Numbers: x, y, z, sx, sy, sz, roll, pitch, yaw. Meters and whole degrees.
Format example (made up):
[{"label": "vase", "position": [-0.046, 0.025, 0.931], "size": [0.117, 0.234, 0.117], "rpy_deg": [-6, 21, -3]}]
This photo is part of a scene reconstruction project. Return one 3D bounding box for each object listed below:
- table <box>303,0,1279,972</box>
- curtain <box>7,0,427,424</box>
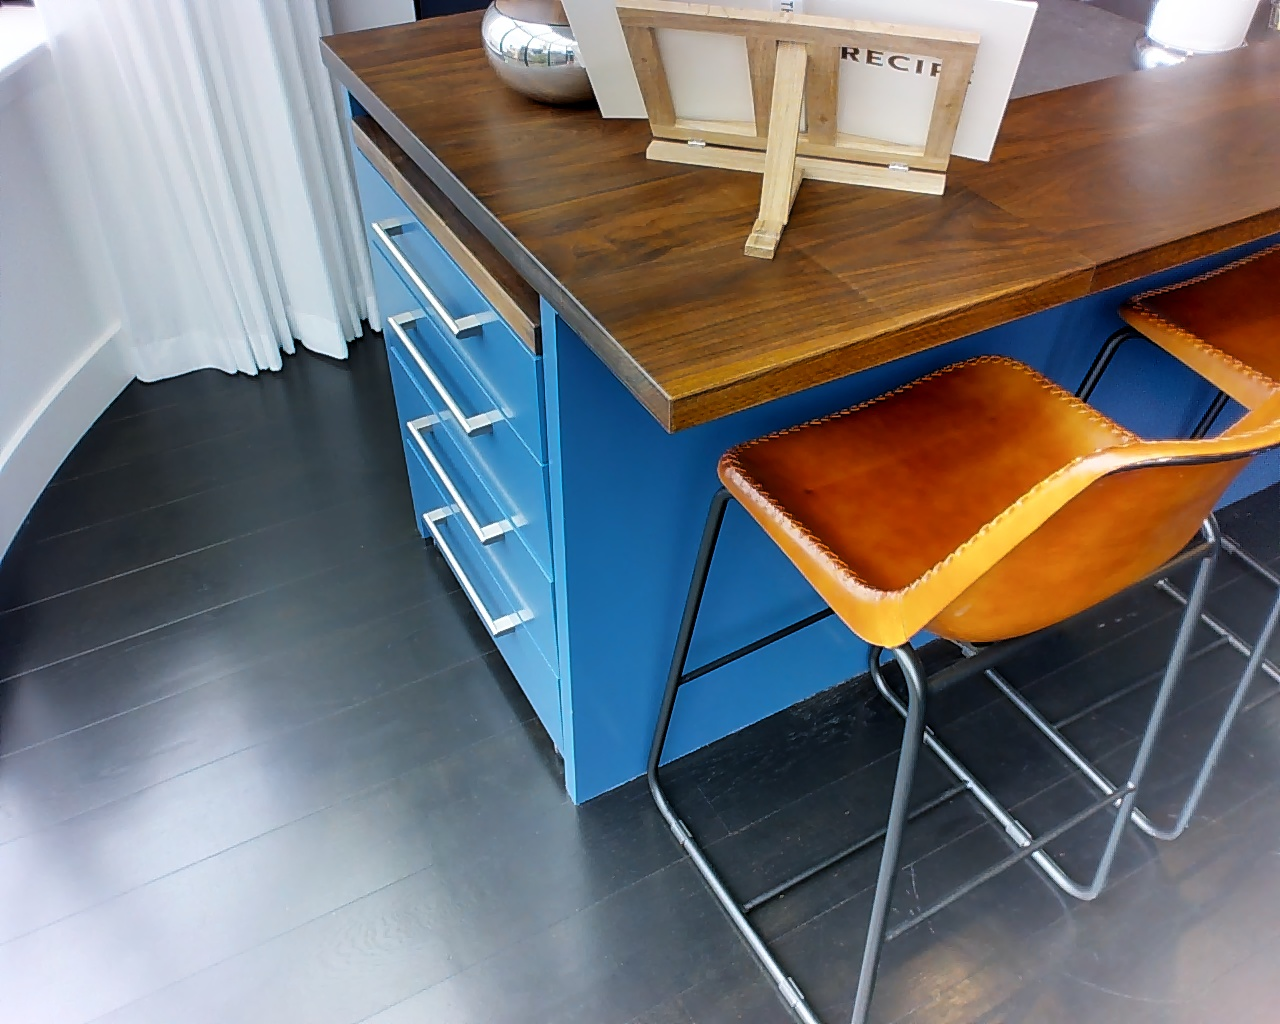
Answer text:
[{"label": "table", "position": [1.200, -0.550, 2.210], "size": [3.300, 1.040, 1.100], "rpy_deg": [-20, 45, -21]}, {"label": "curtain", "position": [-0.940, -1.330, 2.020], "size": [0.670, 2.410, 0.370], "rpy_deg": [-20, 45, -21]}]
